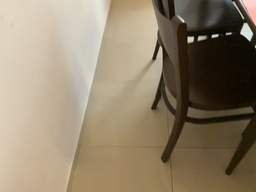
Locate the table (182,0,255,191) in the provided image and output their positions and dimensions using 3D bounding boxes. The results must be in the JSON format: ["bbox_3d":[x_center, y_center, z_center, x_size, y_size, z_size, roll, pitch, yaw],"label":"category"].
[{"bbox_3d":[0.700,-0.230,1.000,0.690,0.760,1.090,-1,50,6],"label":"table"}]
